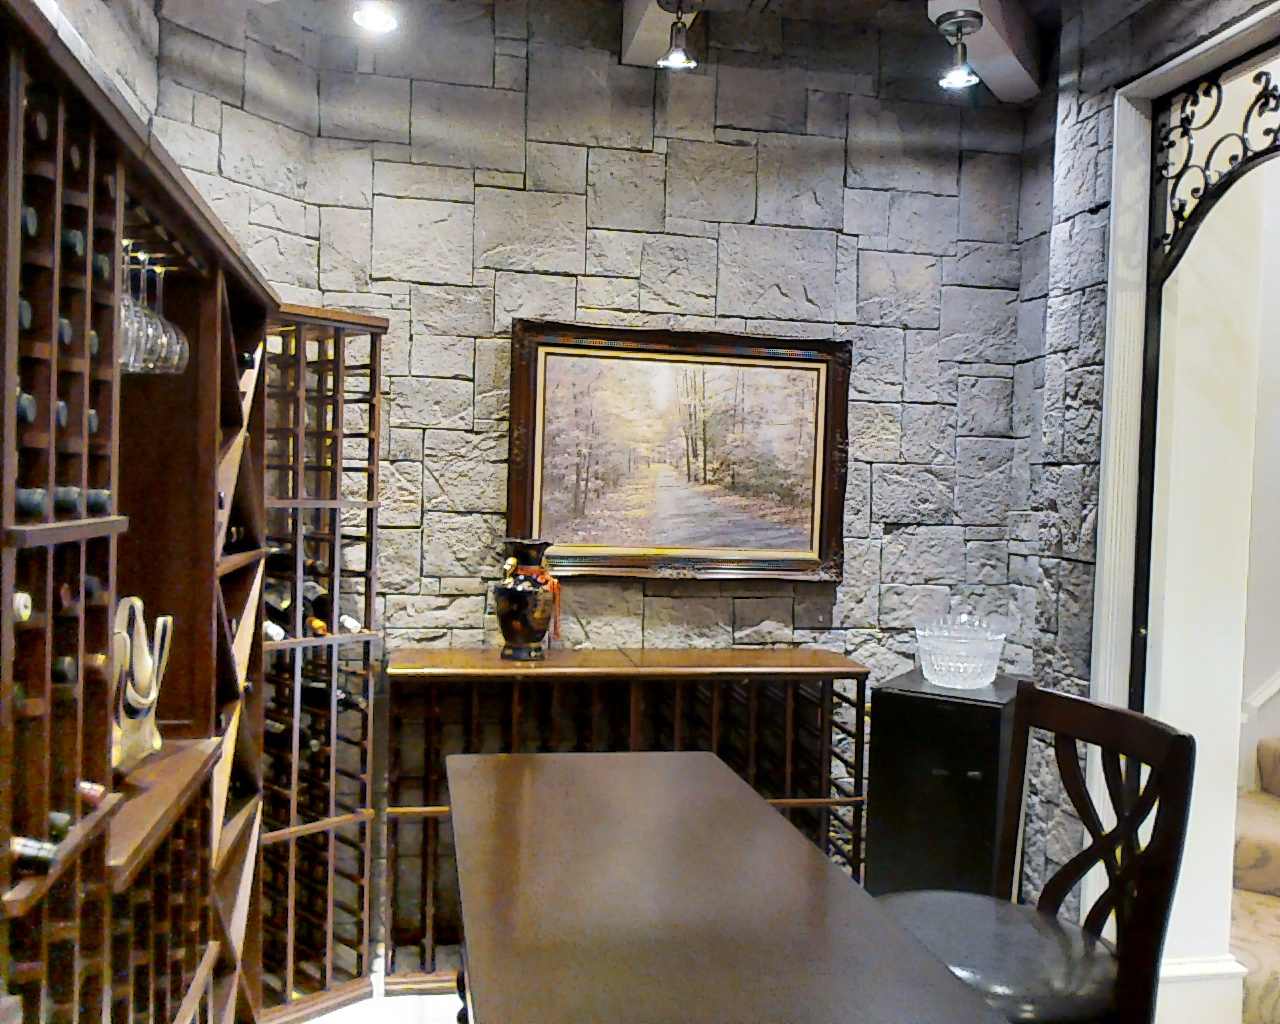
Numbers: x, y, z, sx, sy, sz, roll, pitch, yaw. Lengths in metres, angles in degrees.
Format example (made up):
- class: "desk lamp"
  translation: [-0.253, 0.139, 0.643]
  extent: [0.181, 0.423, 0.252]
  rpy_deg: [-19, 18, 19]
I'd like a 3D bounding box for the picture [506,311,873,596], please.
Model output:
- class: "picture"
  translation: [0.170, -0.170, 3.440]
  extent: [1.160, 0.850, 0.080]
  rpy_deg: [2, 1, -12]
